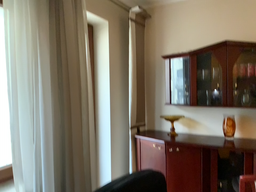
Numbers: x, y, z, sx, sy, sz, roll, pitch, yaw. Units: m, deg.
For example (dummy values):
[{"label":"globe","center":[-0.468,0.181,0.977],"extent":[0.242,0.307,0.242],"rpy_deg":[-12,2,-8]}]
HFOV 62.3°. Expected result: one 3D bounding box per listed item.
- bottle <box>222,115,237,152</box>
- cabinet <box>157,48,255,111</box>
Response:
[{"label":"bottle","center":[1.080,0.390,2.250],"extent":[0.130,0.360,0.100],"rpy_deg":[0,2,34]},{"label":"cabinet","center":[0.990,-0.150,2.150],"extent":[1.350,0.560,0.300],"rpy_deg":[0,2,30]}]
